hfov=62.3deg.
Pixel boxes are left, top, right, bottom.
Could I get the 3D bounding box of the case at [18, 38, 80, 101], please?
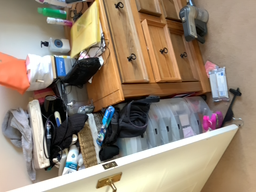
[{"bbox_3d":[-0.450,-0.140,1.190,0.220,0.240,0.270,-24,75,50],"label":"case"}]
